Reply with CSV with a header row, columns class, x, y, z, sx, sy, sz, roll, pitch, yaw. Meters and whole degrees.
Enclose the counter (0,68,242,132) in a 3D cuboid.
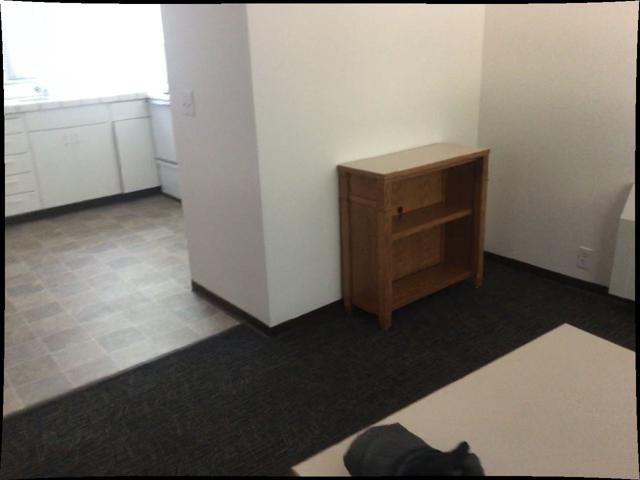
class,x,y,z,sx,sy,sz,roll,pitch,yaw
counter,-1.777,-1.232,4.900,2.108,0.240,0.800,-19,27,-36
